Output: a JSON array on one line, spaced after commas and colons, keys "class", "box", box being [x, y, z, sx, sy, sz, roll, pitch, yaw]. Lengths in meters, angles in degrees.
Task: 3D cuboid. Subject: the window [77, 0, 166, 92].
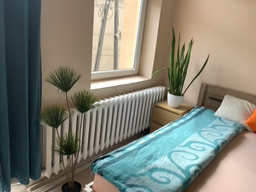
[{"class": "window", "box": [0.020, -1.090, 2.480, 0.190, 1.970, 1.220, 20, 21, 38]}]
